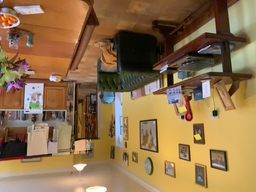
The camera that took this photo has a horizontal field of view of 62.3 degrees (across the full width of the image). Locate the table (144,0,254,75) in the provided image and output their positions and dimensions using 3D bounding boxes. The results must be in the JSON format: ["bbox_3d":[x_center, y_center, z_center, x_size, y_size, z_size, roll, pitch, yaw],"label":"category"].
[{"bbox_3d":[0.760,-0.800,2.760,0.580,0.710,1.410,1,172,-19],"label":"table"}]

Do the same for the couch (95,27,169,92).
[{"bbox_3d":[-0.050,-0.580,4.220,0.890,0.710,1.810,1,172,-19],"label":"couch"}]
